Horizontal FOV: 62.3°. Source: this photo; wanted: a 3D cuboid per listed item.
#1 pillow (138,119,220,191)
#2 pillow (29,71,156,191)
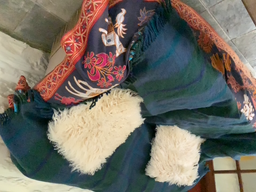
[{"bbox_3d":[0.370,0.450,1.570,0.520,0.440,0.170,19,130,-34],"label":"pillow"},{"bbox_3d":[-0.120,0.170,1.040,0.170,0.470,0.530,-47,162,0],"label":"pillow"}]
